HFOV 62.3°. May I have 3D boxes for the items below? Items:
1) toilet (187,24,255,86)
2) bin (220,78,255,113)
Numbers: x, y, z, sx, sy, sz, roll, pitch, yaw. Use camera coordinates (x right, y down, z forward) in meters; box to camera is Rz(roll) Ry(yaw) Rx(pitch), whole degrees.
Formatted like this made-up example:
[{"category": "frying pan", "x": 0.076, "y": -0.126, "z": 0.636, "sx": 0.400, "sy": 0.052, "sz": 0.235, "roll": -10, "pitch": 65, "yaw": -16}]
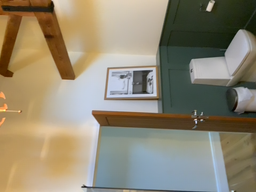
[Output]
[{"category": "toilet", "x": 1.250, "y": -0.480, "z": 2.630, "sx": 0.660, "sy": 0.820, "sz": 0.390, "roll": 94, "pitch": 178, "yaw": -60}, {"category": "bin", "x": 1.420, "y": 0.000, "z": 2.590, "sx": 0.250, "sy": 0.420, "sz": 0.330, "roll": 94, "pitch": 178, "yaw": -61}]
